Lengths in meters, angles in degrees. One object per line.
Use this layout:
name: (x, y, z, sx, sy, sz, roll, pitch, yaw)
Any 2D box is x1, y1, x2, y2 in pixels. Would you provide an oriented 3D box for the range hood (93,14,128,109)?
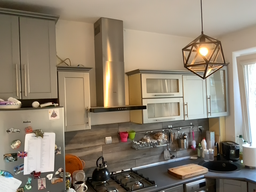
range hood: (-0.200, -0.360, 2.390, 0.280, 0.990, 0.260, -2, 0, -26)

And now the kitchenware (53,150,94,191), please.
kitchenware: (-0.550, 0.750, 2.100, 0.310, 0.300, 0.390, -2, 0, -28)
